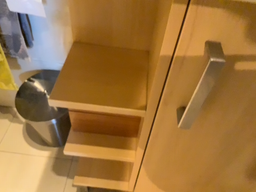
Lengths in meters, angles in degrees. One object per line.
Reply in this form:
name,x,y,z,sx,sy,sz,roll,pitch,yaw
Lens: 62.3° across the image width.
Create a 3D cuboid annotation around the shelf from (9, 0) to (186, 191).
shelf,-0.060,0.000,0.650,0.200,0.780,0.380,6,49,-2
